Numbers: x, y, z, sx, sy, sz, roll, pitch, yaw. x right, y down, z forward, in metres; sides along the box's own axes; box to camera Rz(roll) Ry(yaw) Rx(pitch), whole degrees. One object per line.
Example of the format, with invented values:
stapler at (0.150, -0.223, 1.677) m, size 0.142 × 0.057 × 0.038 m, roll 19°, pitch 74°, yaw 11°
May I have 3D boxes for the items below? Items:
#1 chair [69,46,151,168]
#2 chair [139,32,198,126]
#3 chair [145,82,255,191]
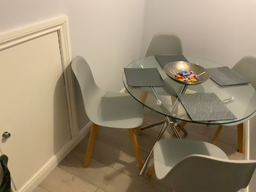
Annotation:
chair at (-0.130, 0.100, 1.640) m, size 0.470 × 0.810 × 0.450 m, roll 3°, pitch 34°, yaw -2°
chair at (0.370, -0.170, 2.140) m, size 0.400 × 0.770 × 0.470 m, roll 7°, pitch 34°, yaw 4°
chair at (0.370, 0.420, 1.210) m, size 0.460 × 0.810 × 0.520 m, roll 6°, pitch 34°, yaw 2°
